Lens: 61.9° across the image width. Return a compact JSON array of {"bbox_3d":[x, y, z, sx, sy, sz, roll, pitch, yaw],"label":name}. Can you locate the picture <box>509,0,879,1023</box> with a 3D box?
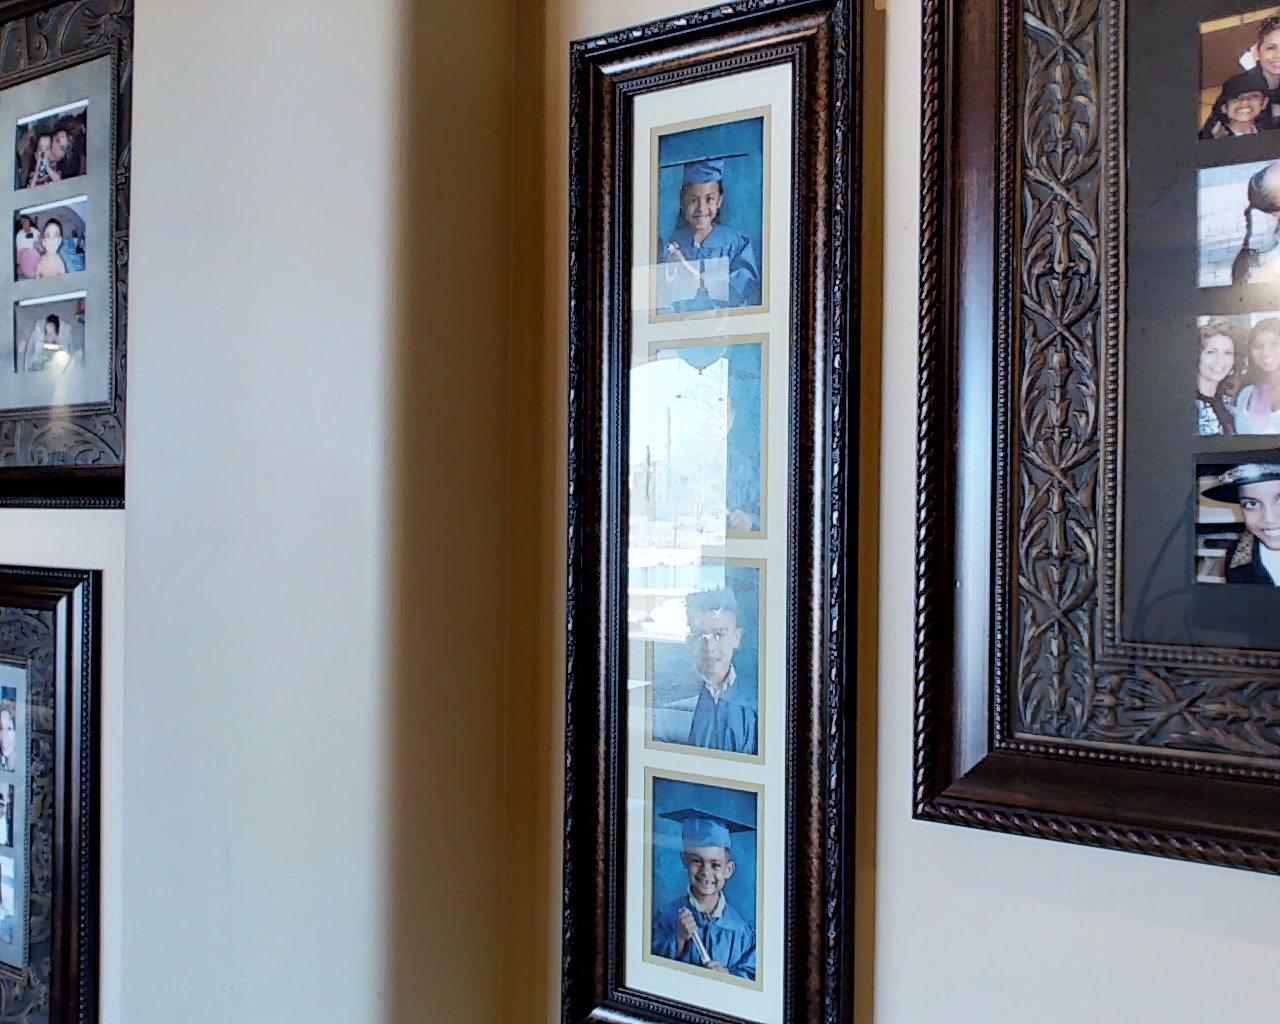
[{"bbox_3d":[0.030,0.010,0.820,0.300,0.840,0.020,1,0,30],"label":"picture"}]

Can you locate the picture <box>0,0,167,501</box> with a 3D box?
[{"bbox_3d":[-0.820,-0.300,1.310,0.700,0.570,0.030,1,0,30],"label":"picture"}]

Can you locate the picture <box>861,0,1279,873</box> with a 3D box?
[{"bbox_3d":[0.370,-0.180,0.620,0.480,0.770,0.030,1,0,30],"label":"picture"}]

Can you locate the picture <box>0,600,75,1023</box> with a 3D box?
[{"bbox_3d":[-0.820,0.360,1.300,0.400,0.510,0.020,1,0,30],"label":"picture"}]
